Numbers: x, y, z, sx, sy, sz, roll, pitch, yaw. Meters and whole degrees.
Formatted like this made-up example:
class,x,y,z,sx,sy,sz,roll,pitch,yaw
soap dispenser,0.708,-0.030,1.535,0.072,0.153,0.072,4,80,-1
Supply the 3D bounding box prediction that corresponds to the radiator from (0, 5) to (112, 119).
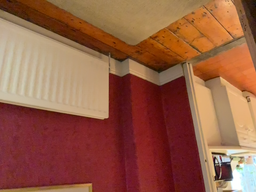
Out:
class,x,y,z,sx,sy,sz,roll,pitch,yaw
radiator,-0.560,-0.210,1.510,1.030,0.630,0.080,14,153,-41
